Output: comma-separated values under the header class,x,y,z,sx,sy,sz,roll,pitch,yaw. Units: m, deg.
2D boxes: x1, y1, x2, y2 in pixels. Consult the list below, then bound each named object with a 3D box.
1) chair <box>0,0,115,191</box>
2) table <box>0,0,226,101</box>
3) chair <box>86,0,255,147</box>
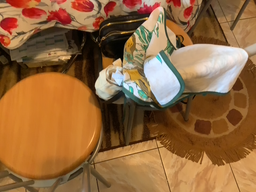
class,x,y,z,sx,sy,sz,roll,pitch,yaw
chair,-0.290,0.130,0.760,0.390,0.790,0.470,-11,71,-7
table,-0.240,-0.480,1.010,1.130,0.740,0.590,-12,72,-7
chair,0.080,-0.120,0.860,0.390,0.800,0.480,-11,71,-7
